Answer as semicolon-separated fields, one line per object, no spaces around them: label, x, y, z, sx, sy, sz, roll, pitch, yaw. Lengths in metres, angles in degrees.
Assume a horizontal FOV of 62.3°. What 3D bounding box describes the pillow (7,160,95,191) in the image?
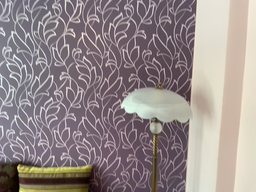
pillow;-0.570;0.770;1.590;0.570;0.460;0.200;8;7;-4
